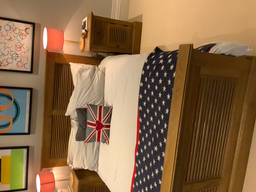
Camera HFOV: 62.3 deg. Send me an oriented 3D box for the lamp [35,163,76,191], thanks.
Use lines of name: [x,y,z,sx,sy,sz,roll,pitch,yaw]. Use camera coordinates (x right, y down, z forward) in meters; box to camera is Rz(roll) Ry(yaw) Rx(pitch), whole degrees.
lamp: [-1.040,1.250,3.030,0.330,0.510,0.390,-155,69,-63]
